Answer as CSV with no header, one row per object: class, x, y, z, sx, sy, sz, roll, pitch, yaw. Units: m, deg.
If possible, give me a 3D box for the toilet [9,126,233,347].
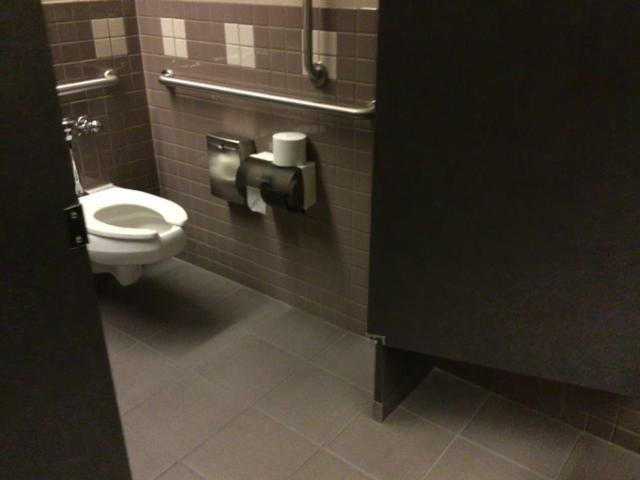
toilet,-0.770,-0.060,2.300,0.640,0.620,0.500,18,29,35
